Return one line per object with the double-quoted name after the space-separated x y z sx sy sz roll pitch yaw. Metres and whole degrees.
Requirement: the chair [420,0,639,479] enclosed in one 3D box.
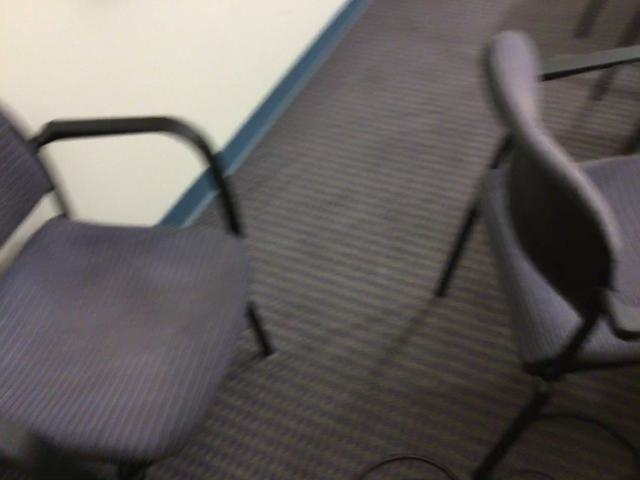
0.460 0.070 0.920 0.530 0.830 0.550 -4 49 8 "chair"
